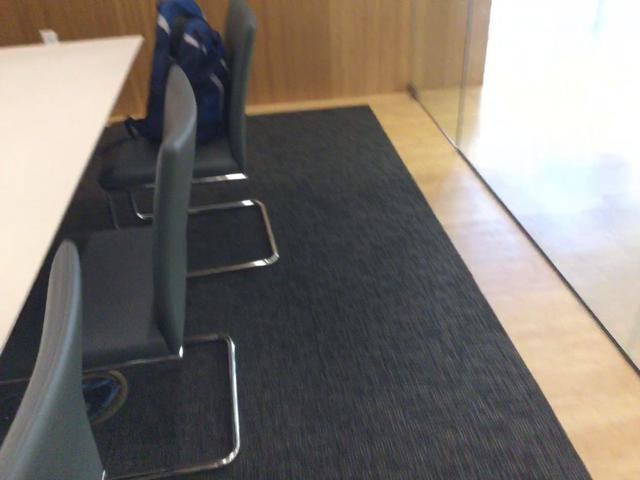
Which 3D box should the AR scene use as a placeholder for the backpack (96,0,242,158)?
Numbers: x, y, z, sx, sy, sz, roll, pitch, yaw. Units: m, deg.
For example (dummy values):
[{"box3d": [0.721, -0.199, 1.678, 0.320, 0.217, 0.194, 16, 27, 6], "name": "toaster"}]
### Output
[{"box3d": [-0.480, -0.560, 1.950, 0.380, 0.440, 0.320, -5, 34, -6], "name": "backpack"}]
